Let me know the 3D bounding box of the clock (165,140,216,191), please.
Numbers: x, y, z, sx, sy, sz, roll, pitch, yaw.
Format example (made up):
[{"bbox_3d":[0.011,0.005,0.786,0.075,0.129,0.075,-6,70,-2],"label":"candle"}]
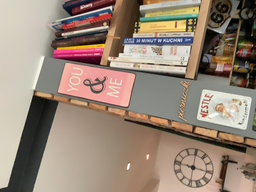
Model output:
[{"bbox_3d":[1.270,1.410,4.350,0.080,0.860,0.790,23,-101,-71],"label":"clock"}]
